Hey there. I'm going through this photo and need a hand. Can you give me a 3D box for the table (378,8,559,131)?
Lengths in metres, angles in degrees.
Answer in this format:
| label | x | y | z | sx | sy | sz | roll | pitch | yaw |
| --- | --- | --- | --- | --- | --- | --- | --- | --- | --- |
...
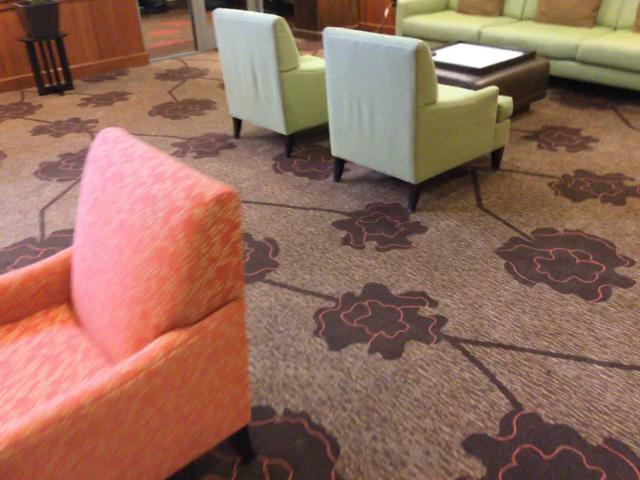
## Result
| label | x | y | z | sx | sy | sz | roll | pitch | yaw |
| --- | --- | --- | --- | --- | --- | --- | --- | --- | --- |
| table | 1.080 | -1.310 | 4.310 | 0.910 | 0.480 | 0.890 | -28 | 44 | -32 |
